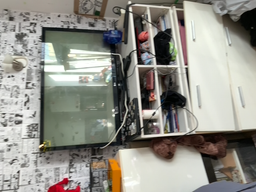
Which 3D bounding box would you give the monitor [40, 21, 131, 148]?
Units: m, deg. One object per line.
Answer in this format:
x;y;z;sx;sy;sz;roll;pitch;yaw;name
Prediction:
-0.340;-0.120;1.710;0.060;0.660;1.000;134;133;-68;monitor

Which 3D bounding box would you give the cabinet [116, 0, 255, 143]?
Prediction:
0.520;-0.220;1.830;0.550;1.070;1.120;134;133;-68;cabinet
